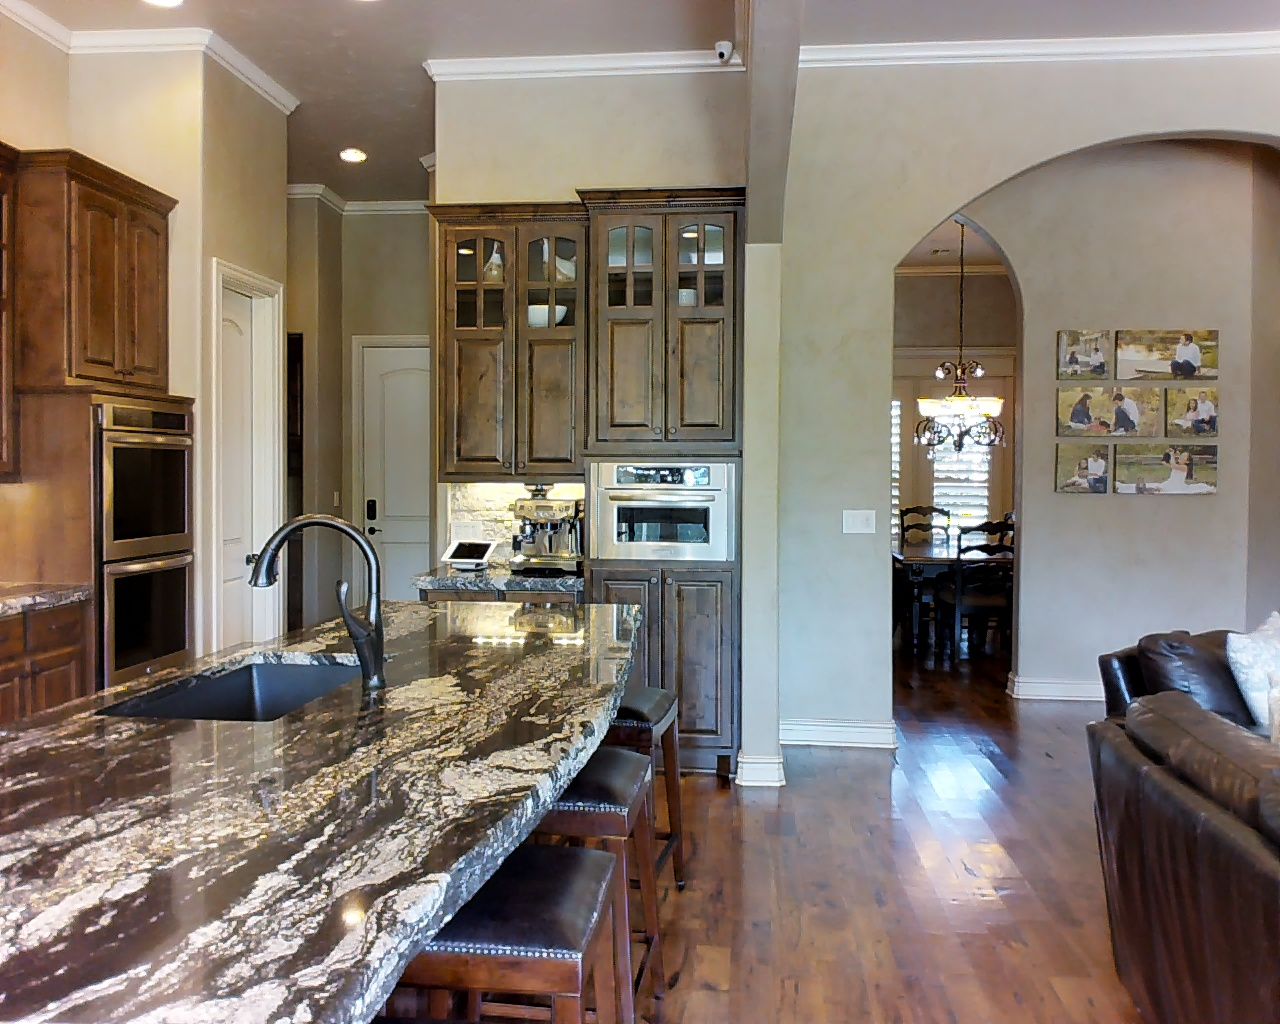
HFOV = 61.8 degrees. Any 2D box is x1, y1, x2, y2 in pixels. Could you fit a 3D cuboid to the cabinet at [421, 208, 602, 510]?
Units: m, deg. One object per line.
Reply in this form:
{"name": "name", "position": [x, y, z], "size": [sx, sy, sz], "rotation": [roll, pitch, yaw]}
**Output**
{"name": "cabinet", "position": [-0.660, -0.770, 5.580], "size": [0.870, 1.510, 0.400], "rotation": [0, 1, 5]}

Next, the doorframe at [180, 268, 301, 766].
{"name": "doorframe", "position": [-2.200, 0.020, 5.970], "size": [0.170, 2.530, 1.090], "rotation": [0, 1, 5]}

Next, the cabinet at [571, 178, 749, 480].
{"name": "cabinet", "position": [0.100, -0.870, 5.200], "size": [0.840, 1.420, 0.220], "rotation": [0, 1, 5]}

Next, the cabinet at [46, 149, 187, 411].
{"name": "cabinet", "position": [-2.400, -1.020, 4.960], "size": [0.130, 1.030, 0.910], "rotation": [0, 1, 5]}
